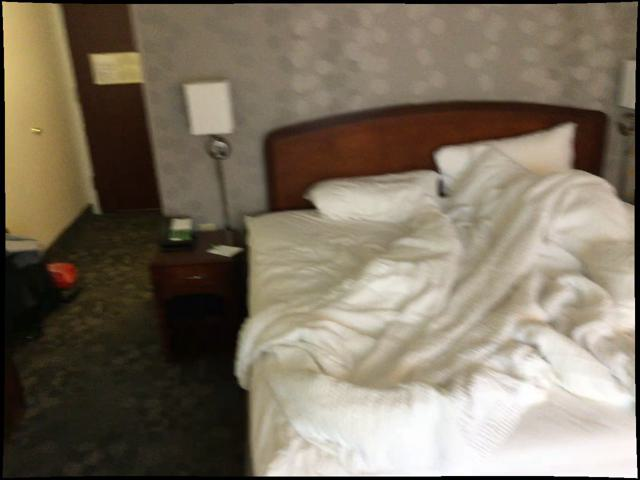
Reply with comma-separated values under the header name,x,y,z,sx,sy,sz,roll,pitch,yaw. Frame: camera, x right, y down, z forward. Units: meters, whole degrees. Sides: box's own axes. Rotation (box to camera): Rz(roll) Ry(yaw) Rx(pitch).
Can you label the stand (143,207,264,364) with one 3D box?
name,x,y,z,sx,sy,sz,roll,pitch,yaw
stand,-0.549,0.210,2.890,0.490,0.580,0.510,-4,23,-5
